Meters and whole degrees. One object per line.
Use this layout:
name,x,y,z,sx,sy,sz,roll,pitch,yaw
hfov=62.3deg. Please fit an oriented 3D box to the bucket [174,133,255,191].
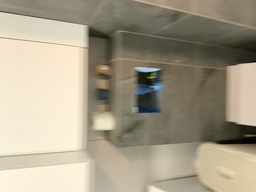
bucket,0.770,0.420,1.270,0.640,0.720,0.220,-172,83,-65
